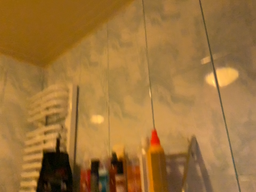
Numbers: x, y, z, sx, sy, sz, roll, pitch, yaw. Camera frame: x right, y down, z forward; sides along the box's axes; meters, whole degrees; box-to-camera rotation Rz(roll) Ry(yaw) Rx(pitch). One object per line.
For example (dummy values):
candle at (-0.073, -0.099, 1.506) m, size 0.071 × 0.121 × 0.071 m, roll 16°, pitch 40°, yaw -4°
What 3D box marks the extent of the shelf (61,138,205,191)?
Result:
shelf at (-0.010, 0.430, 0.710) m, size 0.510 × 0.490 × 0.190 m, roll -20°, pitch -26°, yaw 39°
